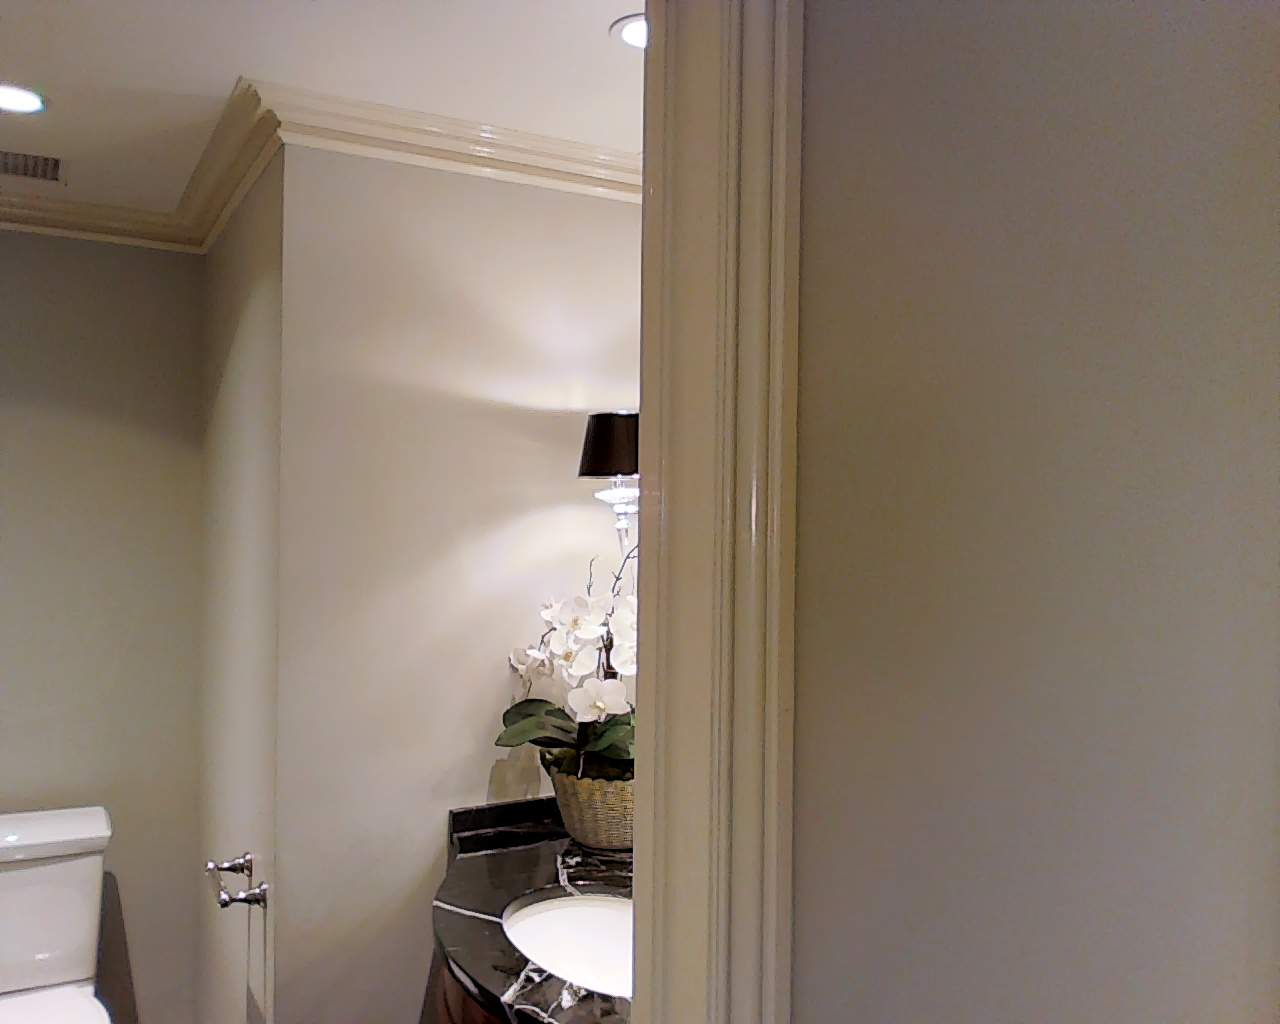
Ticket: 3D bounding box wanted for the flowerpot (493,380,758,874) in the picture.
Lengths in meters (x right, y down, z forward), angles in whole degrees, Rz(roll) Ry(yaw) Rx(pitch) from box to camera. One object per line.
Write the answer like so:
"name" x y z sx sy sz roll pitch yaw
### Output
"flowerpot" -0.040 0.190 2.070 0.340 0.830 0.410 0 1 -30
